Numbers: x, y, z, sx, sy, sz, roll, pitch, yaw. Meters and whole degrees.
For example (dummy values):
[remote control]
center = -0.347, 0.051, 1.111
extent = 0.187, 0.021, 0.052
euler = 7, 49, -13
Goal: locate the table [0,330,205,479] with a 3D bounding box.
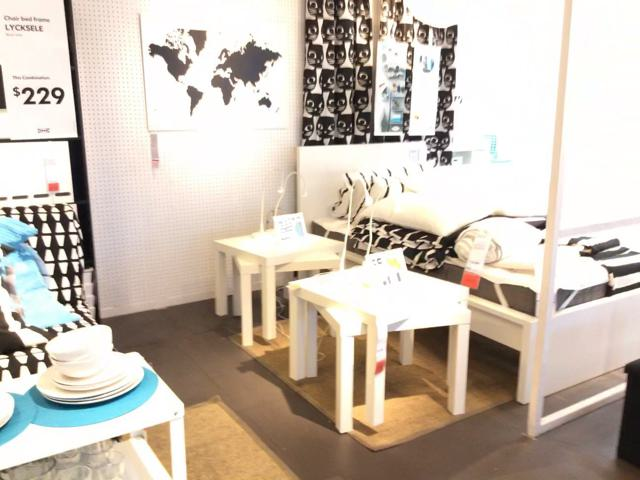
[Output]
[table]
center = -0.790, 0.640, 1.620
extent = 0.780, 0.550, 0.570
euler = -6, 6, -29
